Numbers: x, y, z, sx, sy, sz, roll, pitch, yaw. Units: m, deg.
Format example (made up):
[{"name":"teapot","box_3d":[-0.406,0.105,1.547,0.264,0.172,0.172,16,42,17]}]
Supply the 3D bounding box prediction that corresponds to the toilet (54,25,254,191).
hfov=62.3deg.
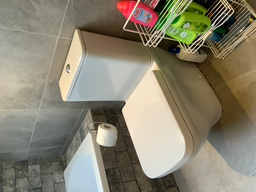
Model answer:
[{"name":"toilet","box_3d":[0.100,0.070,1.140,0.400,0.810,0.640,-54,45,41]}]
